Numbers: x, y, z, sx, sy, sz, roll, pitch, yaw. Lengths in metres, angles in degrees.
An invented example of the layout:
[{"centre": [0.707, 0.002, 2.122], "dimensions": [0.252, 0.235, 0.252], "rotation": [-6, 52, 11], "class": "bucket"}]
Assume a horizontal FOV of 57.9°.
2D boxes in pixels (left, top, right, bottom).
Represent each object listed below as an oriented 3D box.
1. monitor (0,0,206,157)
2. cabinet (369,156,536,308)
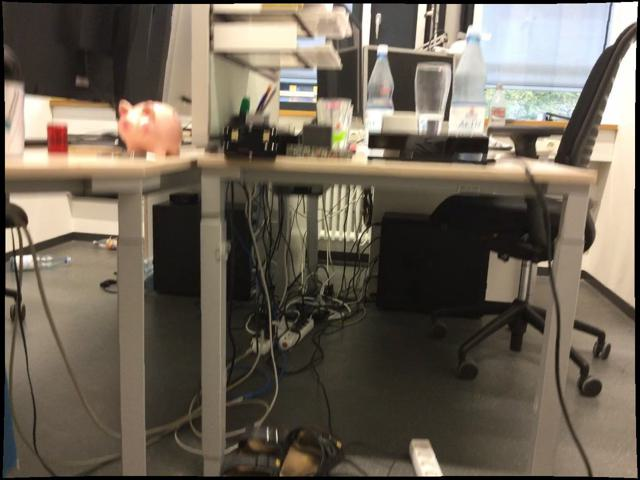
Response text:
[{"centre": [-0.509, -0.480, 1.490], "dimensions": [0.220, 0.480, 0.680], "rotation": [4, 12, 7], "class": "monitor"}, {"centre": [0.619, -0.060, 2.840], "dimensions": [0.699, 0.641, 0.370], "rotation": [4, 12, 7], "class": "cabinet"}]
